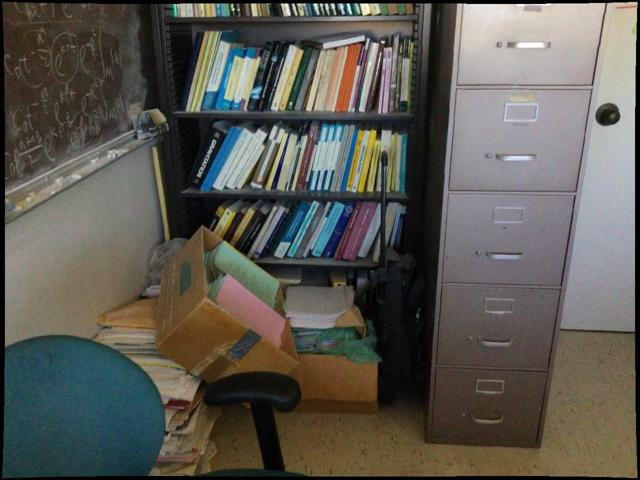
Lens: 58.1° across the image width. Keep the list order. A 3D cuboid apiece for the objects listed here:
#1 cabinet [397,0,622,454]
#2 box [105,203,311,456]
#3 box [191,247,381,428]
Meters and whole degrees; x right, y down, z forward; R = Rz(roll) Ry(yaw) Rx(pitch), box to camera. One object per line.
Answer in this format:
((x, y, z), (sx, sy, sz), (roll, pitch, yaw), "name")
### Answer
((0.539, -0.120, 1.940), (0.449, 1.553, 0.600), (2, 22, 4), "cabinet")
((-0.369, 0.271, 2.020), (0.360, 0.540, 0.640), (37, 12, -17), "box")
((-0.090, 0.351, 2.300), (0.638, 0.401, 0.660), (2, 22, 4), "box")
